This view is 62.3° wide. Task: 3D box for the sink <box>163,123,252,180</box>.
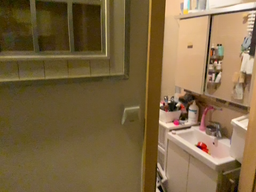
[{"bbox_3d":[0.670,0.450,1.890,0.420,0.160,0.610,-6,16,-26],"label":"sink"}]
